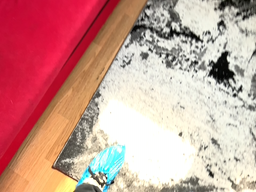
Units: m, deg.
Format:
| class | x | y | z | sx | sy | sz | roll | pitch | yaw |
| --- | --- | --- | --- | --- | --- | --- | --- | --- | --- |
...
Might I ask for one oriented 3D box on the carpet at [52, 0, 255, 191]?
| class | x | y | z | sx | sy | sz | roll | pitch | yaw |
| --- | --- | --- | --- | --- | --- | --- | --- | --- | --- |
| carpet | 0.610 | -0.140 | 1.010 | 1.210 | 0.040 | 1.690 | 27 | 79 | 4 |
